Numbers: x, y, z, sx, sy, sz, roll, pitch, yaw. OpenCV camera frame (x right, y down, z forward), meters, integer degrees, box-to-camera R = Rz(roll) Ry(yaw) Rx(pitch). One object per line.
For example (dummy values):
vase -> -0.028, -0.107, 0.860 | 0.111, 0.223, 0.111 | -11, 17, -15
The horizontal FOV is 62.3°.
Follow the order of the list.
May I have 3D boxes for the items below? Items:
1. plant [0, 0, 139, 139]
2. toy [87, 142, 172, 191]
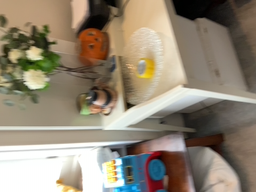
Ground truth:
plant -> -0.380, -0.130, 1.110 | 0.370, 0.690, 0.610 | -37, 56, 49
toy -> -0.010, 0.580, 1.390 | 0.470, 0.320, 0.430 | -38, 55, 48
